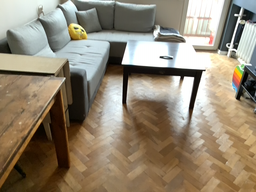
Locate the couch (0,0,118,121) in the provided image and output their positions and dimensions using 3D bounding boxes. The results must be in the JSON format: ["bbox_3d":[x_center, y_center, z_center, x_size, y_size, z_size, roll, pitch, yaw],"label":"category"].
[{"bbox_3d":[-0.760,-0.790,3.070,0.980,0.890,2.480,4,31,1],"label":"couch"}]

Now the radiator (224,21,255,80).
[{"bbox_3d":[1.980,-0.800,3.560,0.230,0.690,0.890,8,32,1],"label":"radiator"}]

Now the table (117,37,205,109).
[{"bbox_3d":[0.380,-0.350,2.790,0.920,0.530,0.920,5,31,3],"label":"table"}]
